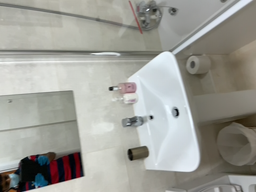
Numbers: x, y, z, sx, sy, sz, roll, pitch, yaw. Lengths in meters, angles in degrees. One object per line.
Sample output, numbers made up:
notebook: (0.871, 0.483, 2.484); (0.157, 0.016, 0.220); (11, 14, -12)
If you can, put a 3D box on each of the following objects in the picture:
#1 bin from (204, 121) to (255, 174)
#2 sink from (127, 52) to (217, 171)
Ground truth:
bin: (0.760, 0.330, 1.430); (0.270, 0.320, 0.270); (-23, 74, 61)
sink: (0.210, 0.090, 1.160); (0.320, 0.210, 0.560); (-32, 67, 59)
